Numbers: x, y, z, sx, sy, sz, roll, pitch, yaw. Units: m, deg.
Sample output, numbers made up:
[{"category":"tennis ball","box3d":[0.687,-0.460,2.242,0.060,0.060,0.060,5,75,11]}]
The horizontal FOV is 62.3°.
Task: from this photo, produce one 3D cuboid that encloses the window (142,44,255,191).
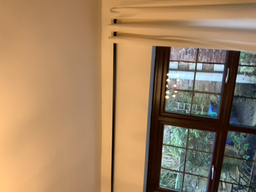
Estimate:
[{"category":"window","box3d":[0.940,0.460,2.280,0.250,1.490,1.920,-38,-48,-67]}]
